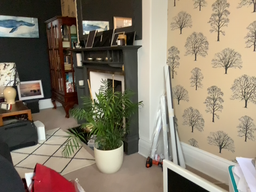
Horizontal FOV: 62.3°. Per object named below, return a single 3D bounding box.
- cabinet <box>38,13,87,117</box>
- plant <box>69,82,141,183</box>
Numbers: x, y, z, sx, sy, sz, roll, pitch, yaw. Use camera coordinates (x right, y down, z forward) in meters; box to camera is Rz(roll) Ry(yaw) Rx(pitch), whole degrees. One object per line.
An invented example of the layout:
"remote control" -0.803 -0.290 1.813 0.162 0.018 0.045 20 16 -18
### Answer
"cabinet" -1.380 -0.640 4.440 0.470 1.870 1.130 -10 16 -35
"plant" -0.250 0.320 2.280 0.500 0.840 0.600 -10 15 -34
